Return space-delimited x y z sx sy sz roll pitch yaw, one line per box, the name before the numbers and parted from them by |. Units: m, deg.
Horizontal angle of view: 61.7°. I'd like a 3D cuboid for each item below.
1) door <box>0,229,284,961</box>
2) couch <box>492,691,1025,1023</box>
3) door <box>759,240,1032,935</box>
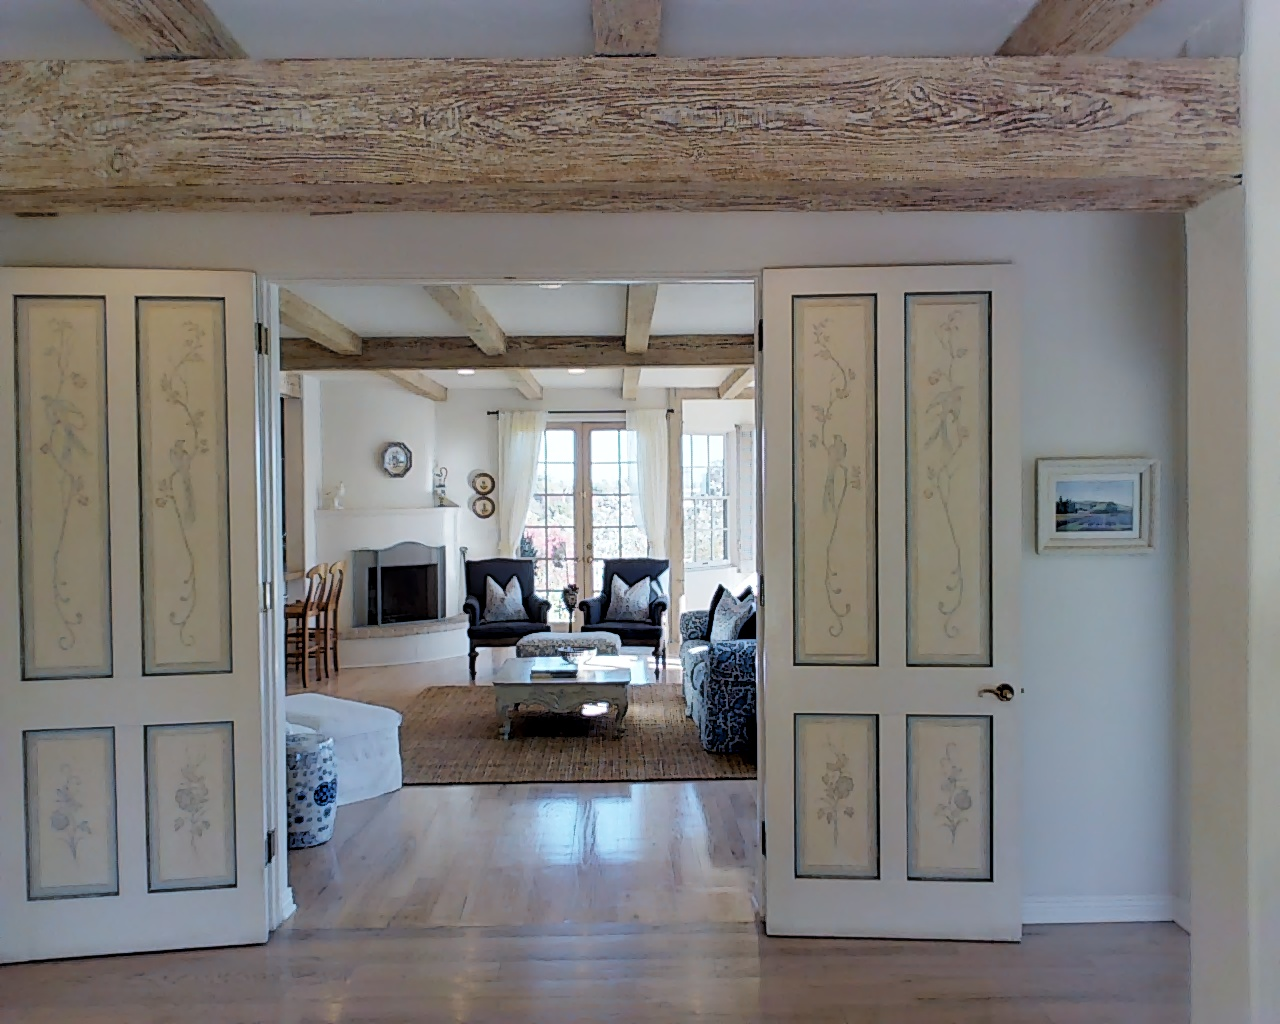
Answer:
door | -1.800 0.290 3.830 0.970 2.541 0.090 -1 1 -10
couch | 0.480 1.170 3.550 1.010 0.790 1.680 1 1 39
door | 0.930 0.280 3.940 0.960 2.491 0.140 0 1 4
